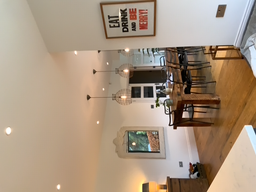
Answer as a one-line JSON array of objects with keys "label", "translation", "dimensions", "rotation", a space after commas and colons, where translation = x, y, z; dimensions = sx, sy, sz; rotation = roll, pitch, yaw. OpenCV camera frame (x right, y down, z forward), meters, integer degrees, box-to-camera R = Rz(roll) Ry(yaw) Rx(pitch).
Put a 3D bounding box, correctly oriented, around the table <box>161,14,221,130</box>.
[{"label": "table", "translation": [1.350, -0.760, 5.230], "dimensions": [1.020, 0.800, 3.090], "rotation": [85, -174, -48]}]
